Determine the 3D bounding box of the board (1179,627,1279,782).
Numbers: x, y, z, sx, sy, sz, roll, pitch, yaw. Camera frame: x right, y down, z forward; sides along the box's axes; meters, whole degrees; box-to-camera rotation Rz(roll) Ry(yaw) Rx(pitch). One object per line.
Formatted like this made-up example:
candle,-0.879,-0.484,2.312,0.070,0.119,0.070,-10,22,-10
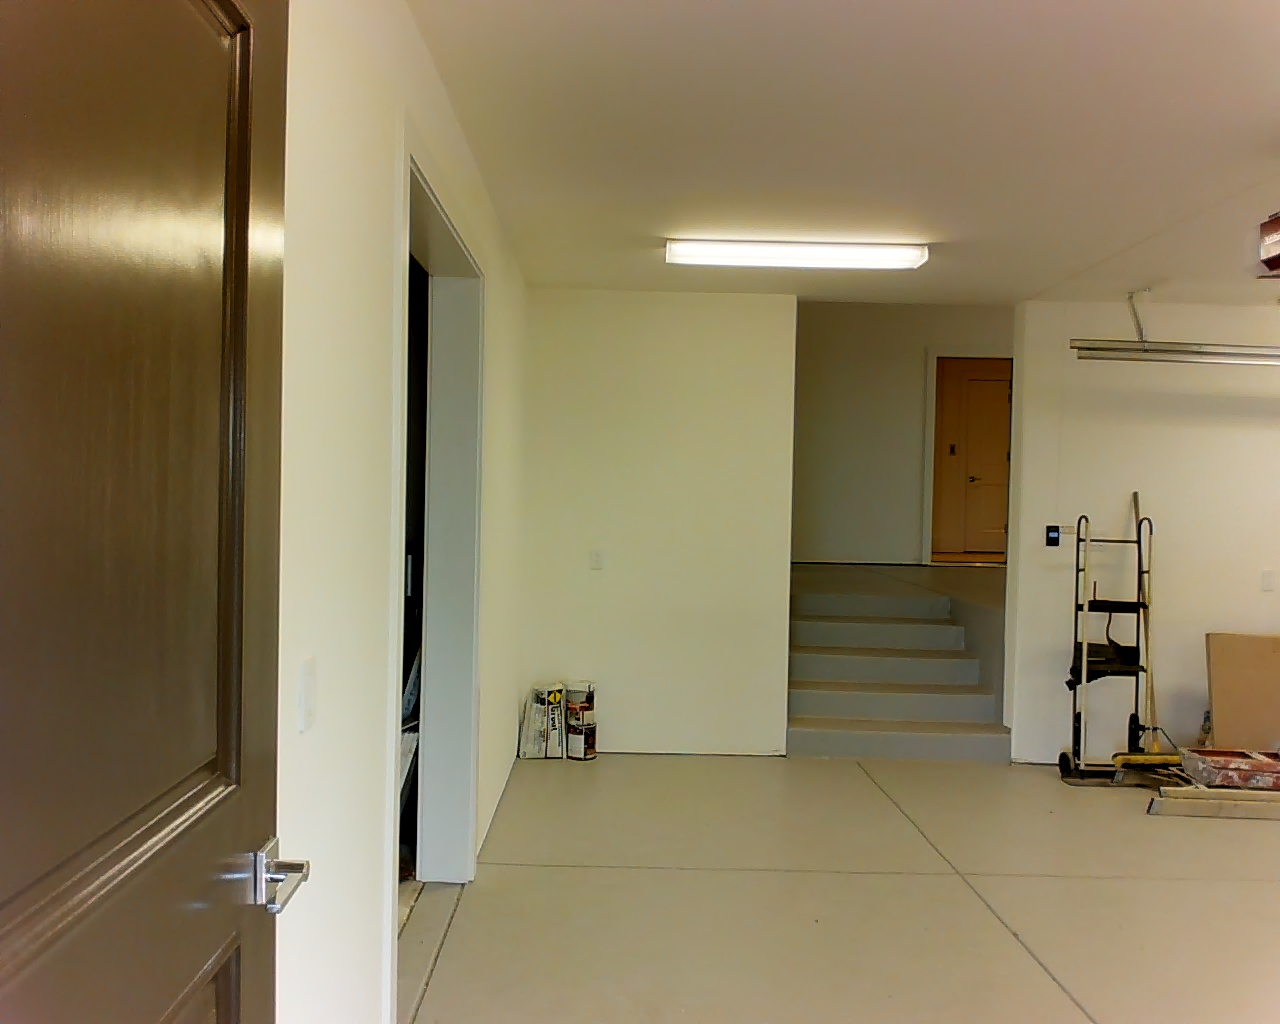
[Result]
board,3.750,1.100,6.210,0.970,0.790,0.550,1,1,-1
